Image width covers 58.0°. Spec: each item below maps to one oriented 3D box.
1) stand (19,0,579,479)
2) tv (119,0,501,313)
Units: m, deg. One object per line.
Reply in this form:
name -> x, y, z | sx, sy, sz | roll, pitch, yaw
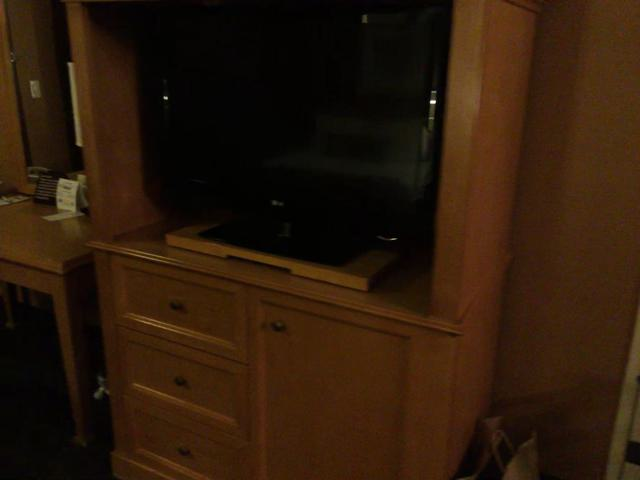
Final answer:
stand -> -0.090, 0.070, 1.800 | 1.310, 1.630, 0.720 | 13, 23, 27
tv -> -0.040, -0.310, 1.660 | 0.890, 0.690, 0.500 | 13, 23, 27
